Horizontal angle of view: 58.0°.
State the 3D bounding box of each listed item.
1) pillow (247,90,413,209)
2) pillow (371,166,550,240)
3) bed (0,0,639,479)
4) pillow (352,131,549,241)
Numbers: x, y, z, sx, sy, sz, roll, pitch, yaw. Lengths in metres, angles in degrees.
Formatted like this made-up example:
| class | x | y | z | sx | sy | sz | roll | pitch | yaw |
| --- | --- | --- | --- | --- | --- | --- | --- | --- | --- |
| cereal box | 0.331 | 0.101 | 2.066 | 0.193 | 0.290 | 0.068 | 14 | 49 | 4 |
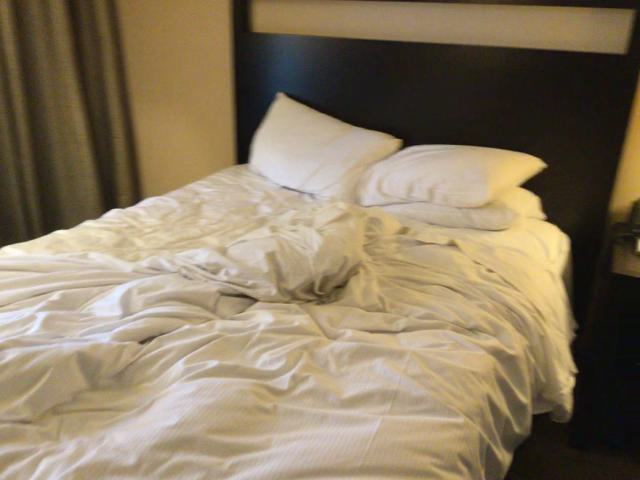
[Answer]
| class | x | y | z | sx | sy | sz | roll | pitch | yaw |
| --- | --- | --- | --- | --- | --- | --- | --- | --- | --- |
| pillow | 0.030 | -0.390 | 2.340 | 0.580 | 0.360 | 0.320 | 16 | 25 | 36 |
| pillow | 0.510 | -0.150 | 2.110 | 0.560 | 0.110 | 0.320 | 12 | 23 | 28 |
| bed | -0.240 | 0.020 | 1.580 | 1.820 | 1.620 | 2.260 | 12 | 23 | 28 |
| pillow | 0.470 | -0.220 | 2.090 | 0.580 | 0.240 | 0.400 | 12 | 23 | 28 |
